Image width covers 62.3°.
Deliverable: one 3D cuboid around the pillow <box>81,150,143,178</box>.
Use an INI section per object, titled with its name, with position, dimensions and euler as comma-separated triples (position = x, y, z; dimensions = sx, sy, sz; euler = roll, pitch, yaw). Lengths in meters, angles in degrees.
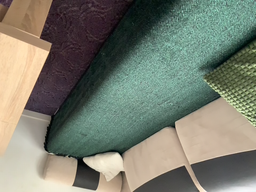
[pillow]
position = -0.140, 0.630, 1.920
dimensions = 0.380, 0.090, 0.410
euler = -24, 139, 32
